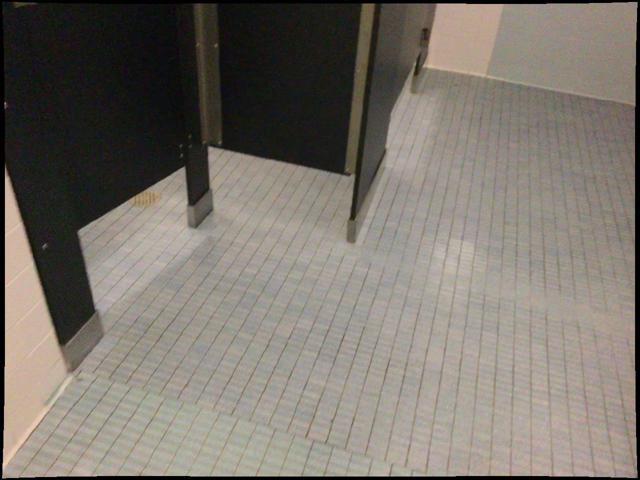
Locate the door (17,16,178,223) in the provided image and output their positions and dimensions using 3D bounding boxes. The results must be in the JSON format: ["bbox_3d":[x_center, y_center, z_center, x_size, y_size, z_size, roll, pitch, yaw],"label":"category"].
[{"bbox_3d":[-0.598,-0.351,1.650,0.080,0.461,0.430,22,40,21],"label":"door"}]

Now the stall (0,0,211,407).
[{"bbox_3d":[-0.578,-0.231,1.650,0.100,0.982,0.981,12,37,10],"label":"stall"}]

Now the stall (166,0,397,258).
[{"bbox_3d":[-0.130,-0.551,1.950,0.668,1.162,0.280,13,37,10],"label":"stall"}]

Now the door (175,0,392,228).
[{"bbox_3d":[-0.130,-0.571,1.890,0.649,1.032,0.150,13,37,10],"label":"door"}]
